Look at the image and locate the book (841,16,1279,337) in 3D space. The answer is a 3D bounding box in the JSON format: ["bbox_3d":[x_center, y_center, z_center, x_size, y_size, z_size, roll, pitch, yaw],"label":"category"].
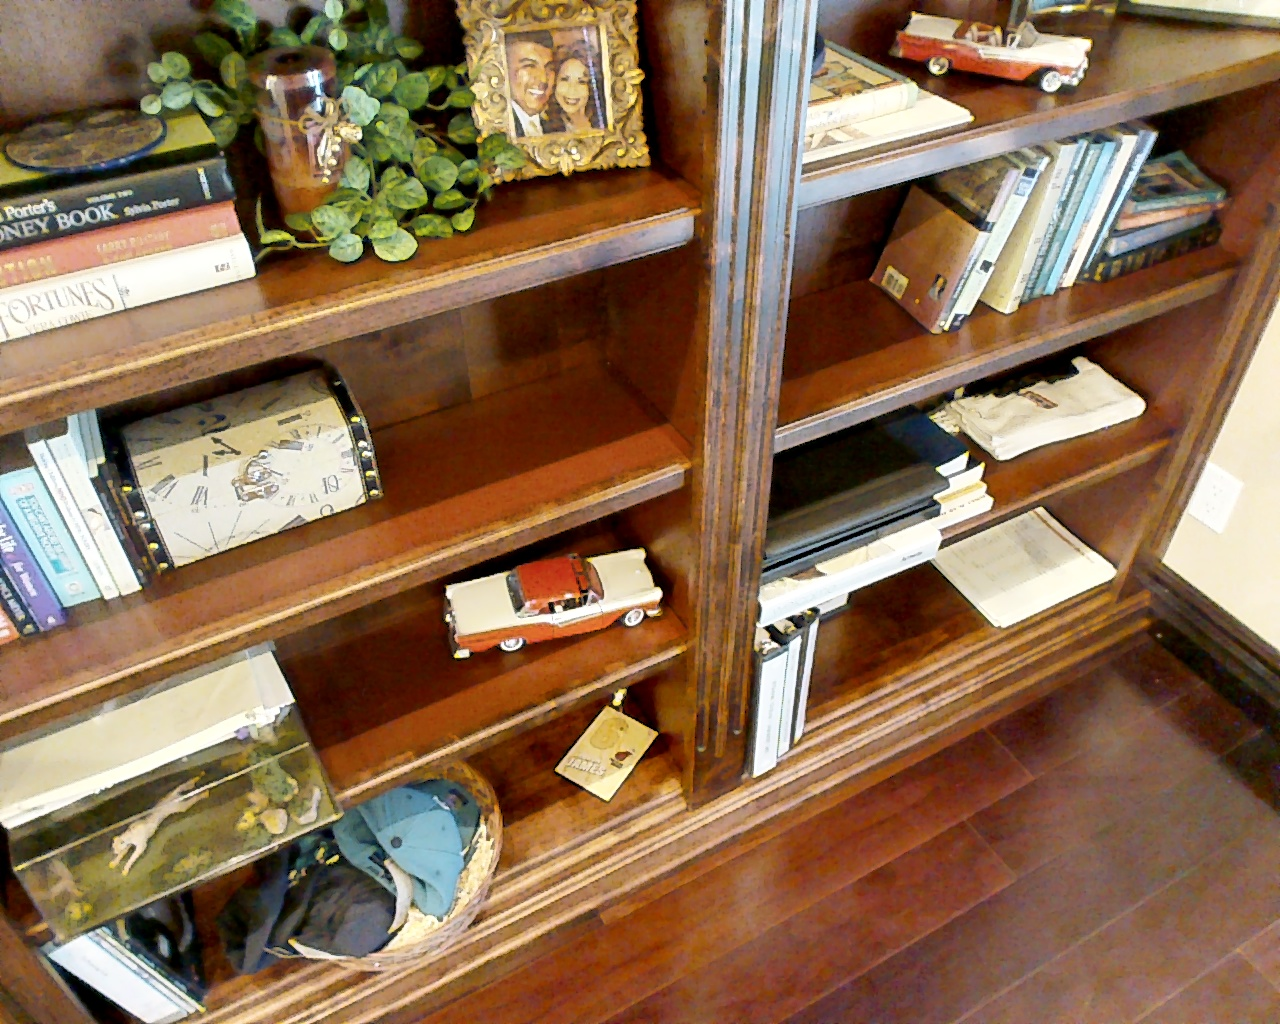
[{"bbox_3d":[0.570,-0.470,1.460,0.570,0.250,0.180,-22,46,-21],"label":"book"}]

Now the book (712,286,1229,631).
[{"bbox_3d":[0.510,-0.110,1.650,0.780,0.170,0.260,-22,46,-22],"label":"book"}]

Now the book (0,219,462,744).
[{"bbox_3d":[-0.500,-0.030,1.020,0.560,0.270,0.270,-23,46,-22],"label":"book"}]
